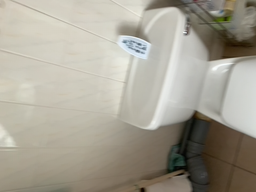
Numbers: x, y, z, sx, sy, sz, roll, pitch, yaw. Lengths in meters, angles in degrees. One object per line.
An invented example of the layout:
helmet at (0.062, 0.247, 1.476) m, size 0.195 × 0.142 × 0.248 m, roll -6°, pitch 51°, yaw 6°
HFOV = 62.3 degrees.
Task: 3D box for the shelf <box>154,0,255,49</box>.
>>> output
shelf at (0.450, -0.470, 1.110) m, size 0.200 × 0.770 × 0.220 m, roll 12°, pitch 90°, yaw 47°
